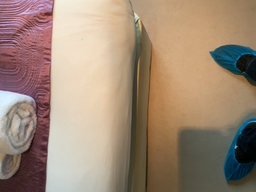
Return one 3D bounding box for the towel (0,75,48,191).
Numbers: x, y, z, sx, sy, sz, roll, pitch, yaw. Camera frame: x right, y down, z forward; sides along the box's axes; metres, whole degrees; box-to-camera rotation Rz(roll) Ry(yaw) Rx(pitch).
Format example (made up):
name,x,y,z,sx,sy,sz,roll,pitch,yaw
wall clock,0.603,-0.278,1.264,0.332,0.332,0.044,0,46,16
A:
name,x,y,z,sx,sy,sz,roll,pitch,yaw
towel,-0.460,0.080,0.610,0.390,0.130,0.300,9,94,12
